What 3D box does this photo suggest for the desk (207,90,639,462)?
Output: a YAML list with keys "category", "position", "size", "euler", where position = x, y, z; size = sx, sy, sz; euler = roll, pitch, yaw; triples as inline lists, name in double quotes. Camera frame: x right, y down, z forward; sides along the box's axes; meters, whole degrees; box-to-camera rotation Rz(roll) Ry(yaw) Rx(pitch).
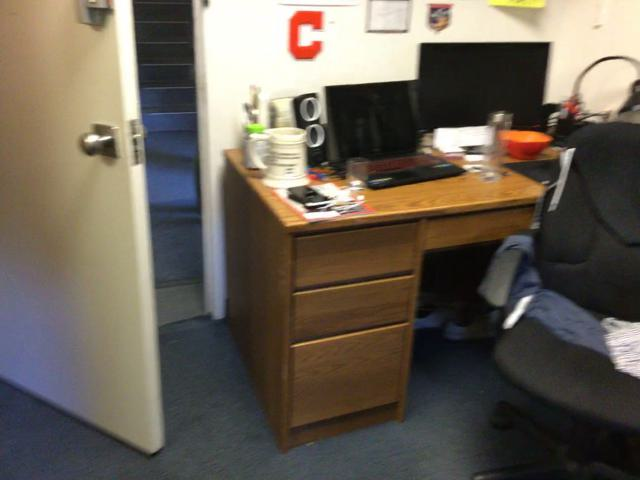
- category: "desk"
  position: [0.450, 0.000, 2.170]
  size: [1.540, 0.900, 0.820]
  euler: [-8, 26, -20]
